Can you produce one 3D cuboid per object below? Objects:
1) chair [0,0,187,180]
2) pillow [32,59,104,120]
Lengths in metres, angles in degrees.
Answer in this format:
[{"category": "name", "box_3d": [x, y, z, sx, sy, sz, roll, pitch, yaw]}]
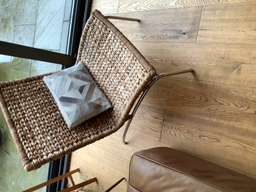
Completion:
[{"category": "chair", "box_3d": [-0.250, -0.080, 1.310, 0.660, 0.740, 0.730, 51, 118, 27]}, {"category": "pillow", "box_3d": [-0.350, -0.050, 1.330, 0.410, 0.300, 0.080, 43, 96, -1]}]
